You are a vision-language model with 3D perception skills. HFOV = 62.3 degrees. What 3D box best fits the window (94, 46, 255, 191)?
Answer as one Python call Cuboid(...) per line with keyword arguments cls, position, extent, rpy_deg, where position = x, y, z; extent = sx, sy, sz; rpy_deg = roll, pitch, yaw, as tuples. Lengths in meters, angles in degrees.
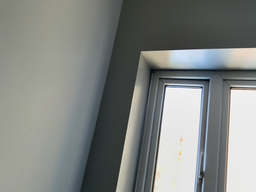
Cuboid(cls="window", position=(0.520, 0.400, 0.930), extent=(0.310, 1.310, 1.210), rpy_deg=(40, -122, -63))
